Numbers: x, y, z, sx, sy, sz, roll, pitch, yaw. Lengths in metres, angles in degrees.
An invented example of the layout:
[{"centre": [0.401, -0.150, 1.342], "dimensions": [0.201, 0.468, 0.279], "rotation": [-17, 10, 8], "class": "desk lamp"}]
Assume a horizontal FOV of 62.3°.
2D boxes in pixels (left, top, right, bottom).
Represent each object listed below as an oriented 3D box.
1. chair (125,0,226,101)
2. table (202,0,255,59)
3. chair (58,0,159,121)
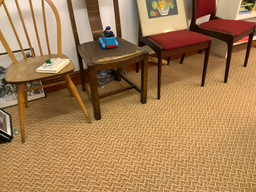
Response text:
[{"centre": [0.330, -0.510, 1.790], "dimensions": [0.490, 0.810, 0.590], "rotation": [-17, 39, -23], "class": "chair"}, {"centre": [1.410, -0.890, 2.450], "dimensions": [1.010, 0.670, 0.280], "rotation": [-17, 39, -22], "class": "table"}, {"centre": [-0.160, -0.360, 1.580], "dimensions": [0.470, 0.810, 0.570], "rotation": [-17, 39, -23], "class": "chair"}]
